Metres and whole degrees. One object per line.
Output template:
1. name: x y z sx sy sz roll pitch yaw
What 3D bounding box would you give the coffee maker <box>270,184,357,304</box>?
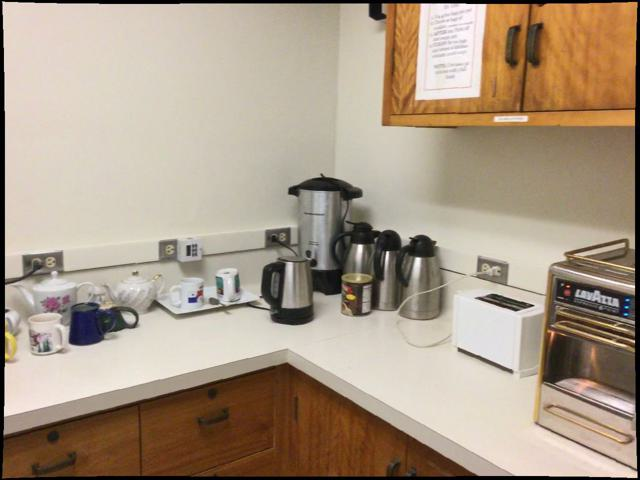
1. coffee maker: -0.030 0.000 2.190 0.190 0.401 0.300 -7 11 -36

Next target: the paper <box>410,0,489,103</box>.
1. paper: 0.329 -0.511 1.490 0.020 0.291 0.230 -7 12 -38

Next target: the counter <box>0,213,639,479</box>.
1. counter: -0.150 0.351 0.820 2.326 0.391 2.508 -7 11 -36
